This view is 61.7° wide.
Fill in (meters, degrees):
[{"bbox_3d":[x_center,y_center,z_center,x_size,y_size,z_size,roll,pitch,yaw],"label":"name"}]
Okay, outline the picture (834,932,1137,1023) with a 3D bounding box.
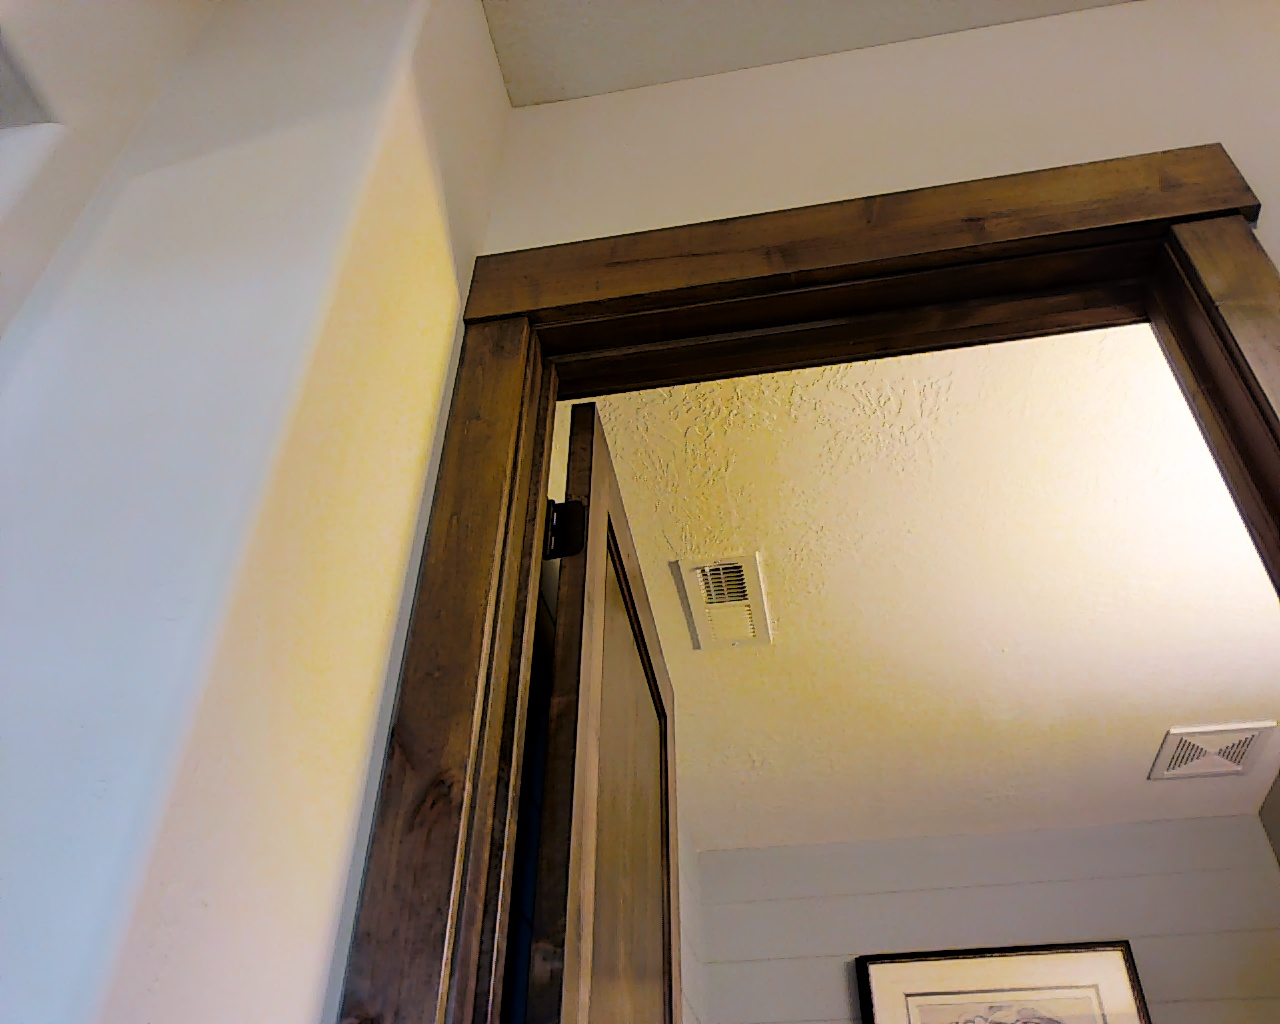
[{"bbox_3d":[0.810,1.320,2.430,0.660,0.670,0.080,-6,-42,8],"label":"picture"}]
